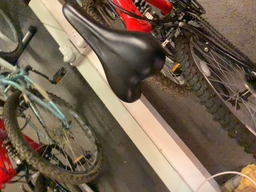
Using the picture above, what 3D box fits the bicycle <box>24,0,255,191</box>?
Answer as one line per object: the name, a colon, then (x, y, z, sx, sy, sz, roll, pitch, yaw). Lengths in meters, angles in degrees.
bicycle: (-0.010, -0.430, 0.850, 0.420, 0.740, 1.750, -44, 75, 18)
